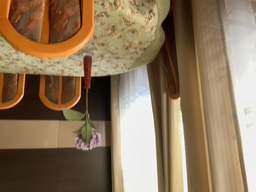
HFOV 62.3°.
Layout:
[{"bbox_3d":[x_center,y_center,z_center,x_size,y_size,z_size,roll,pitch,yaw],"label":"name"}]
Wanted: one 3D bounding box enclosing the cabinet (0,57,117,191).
[{"bbox_3d":[-1.180,0.600,3.390,1.890,2.240,0.620,2,167,-14],"label":"cabinet"}]
